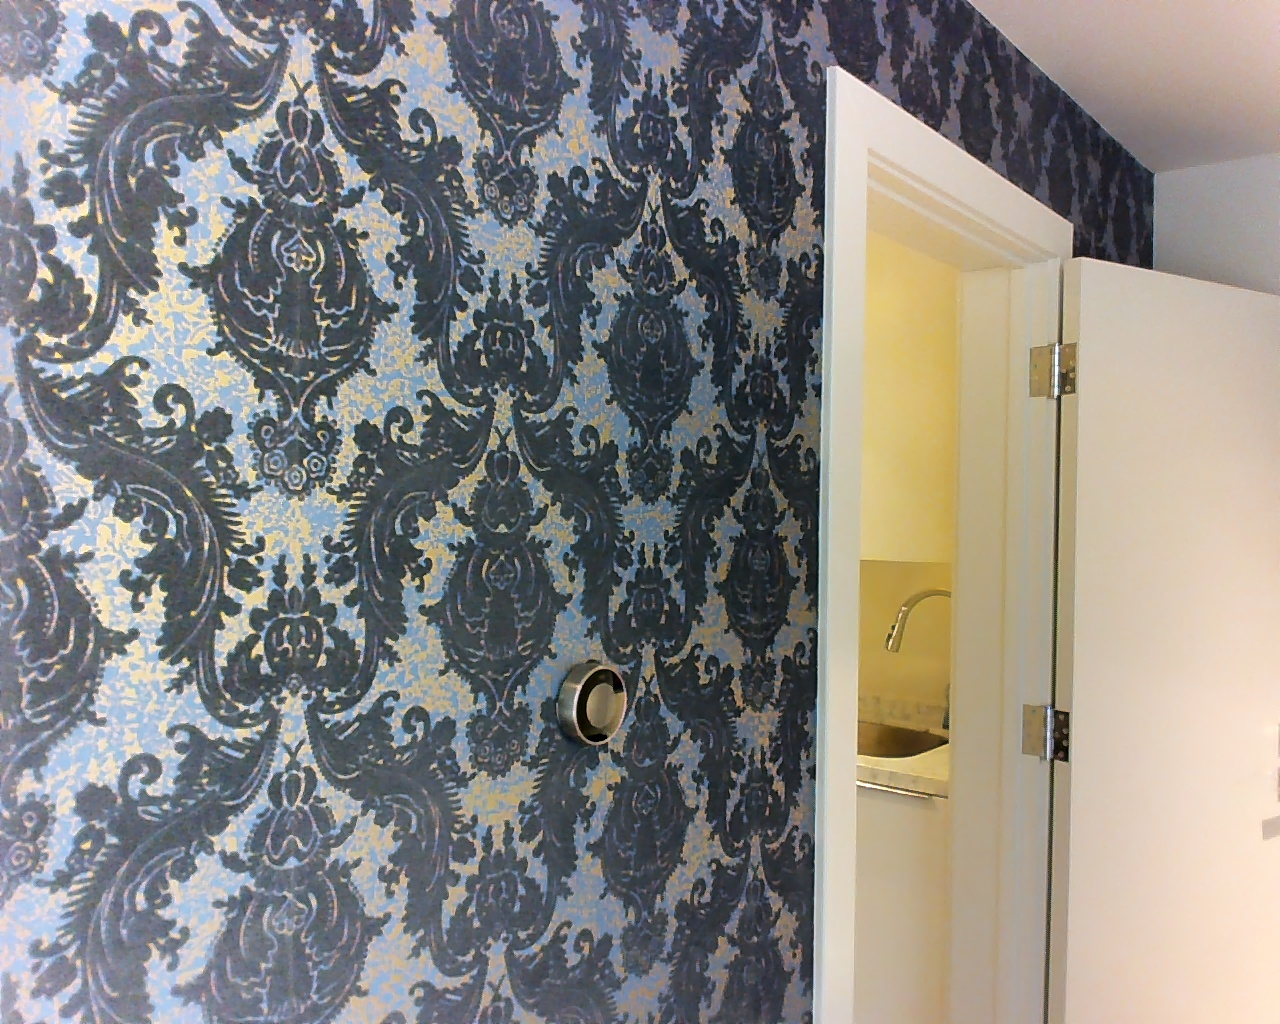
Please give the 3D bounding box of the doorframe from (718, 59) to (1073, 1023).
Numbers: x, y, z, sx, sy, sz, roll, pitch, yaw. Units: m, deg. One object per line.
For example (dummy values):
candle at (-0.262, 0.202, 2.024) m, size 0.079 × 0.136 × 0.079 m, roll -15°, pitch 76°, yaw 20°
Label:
doorframe at (0.500, 0.440, 1.950) m, size 0.240 × 2.170 × 0.870 m, roll 1°, pitch 0°, yaw 40°
